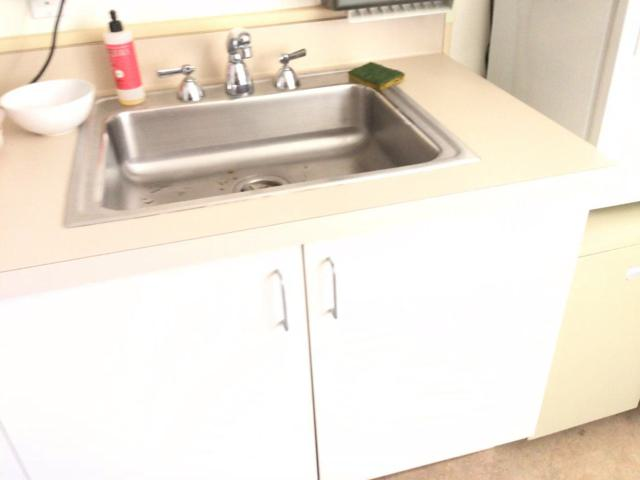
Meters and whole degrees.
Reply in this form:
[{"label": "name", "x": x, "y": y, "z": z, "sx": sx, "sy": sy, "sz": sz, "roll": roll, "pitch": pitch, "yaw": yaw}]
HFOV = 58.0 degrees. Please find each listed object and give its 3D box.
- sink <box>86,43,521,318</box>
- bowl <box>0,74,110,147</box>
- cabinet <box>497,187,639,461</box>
[{"label": "sink", "x": -0.070, "y": -0.170, "z": 1.110, "sx": 0.630, "sy": 0.250, "sz": 0.560, "roll": -7, "pitch": 33, "yaw": -13}, {"label": "bowl", "x": -0.490, "y": -0.250, "z": 1.090, "sx": 0.160, "sy": 0.060, "sz": 0.210, "roll": -7, "pitch": 33, "yaw": -13}, {"label": "cabinet", "x": 0.800, "y": 0.180, "z": 1.330, "sx": 0.670, "sy": 0.640, "sz": 0.130, "roll": -7, "pitch": 33, "yaw": -13}]
